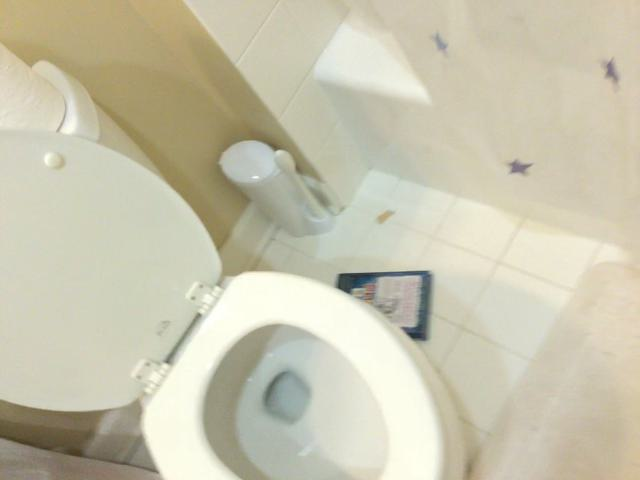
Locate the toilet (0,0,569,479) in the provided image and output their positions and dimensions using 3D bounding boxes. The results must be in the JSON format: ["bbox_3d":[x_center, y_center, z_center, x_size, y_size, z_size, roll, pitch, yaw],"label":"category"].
[{"bbox_3d":[-0.160,0.170,0.830,0.750,0.820,0.490,24,77,36],"label":"toilet"}]
